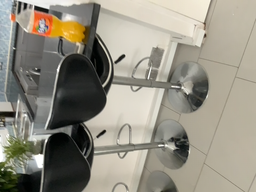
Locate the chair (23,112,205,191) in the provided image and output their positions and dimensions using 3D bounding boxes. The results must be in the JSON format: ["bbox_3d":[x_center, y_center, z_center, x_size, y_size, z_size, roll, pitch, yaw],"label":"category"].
[{"bbox_3d":[-0.050,0.390,1.450,0.430,1.110,0.420,29,111,52],"label":"chair"}]

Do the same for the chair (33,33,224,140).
[{"bbox_3d":[0.050,-0.050,1.350,0.430,1.100,0.420,29,111,52],"label":"chair"}]
